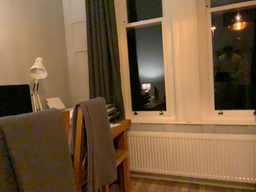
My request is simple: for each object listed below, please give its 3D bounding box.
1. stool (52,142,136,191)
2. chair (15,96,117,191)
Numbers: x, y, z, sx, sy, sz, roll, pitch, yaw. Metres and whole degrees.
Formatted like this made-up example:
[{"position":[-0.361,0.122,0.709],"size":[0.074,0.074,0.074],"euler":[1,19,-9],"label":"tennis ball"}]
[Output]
[{"position":[-0.300,0.780,2.070],"size":[0.540,0.450,0.580],"euler":[-1,6,25],"label":"stool"},{"position":[-0.380,0.530,1.460],"size":[0.460,1.010,0.400],"euler":[-2,5,21],"label":"chair"}]
